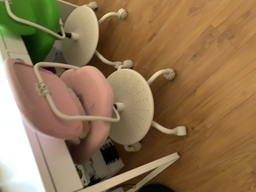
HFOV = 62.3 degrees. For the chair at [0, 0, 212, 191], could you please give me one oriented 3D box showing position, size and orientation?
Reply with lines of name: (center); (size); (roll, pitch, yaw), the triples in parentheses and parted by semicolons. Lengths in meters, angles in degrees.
chair: (-0.180, 0.090, 1.040); (0.650, 0.820, 0.580); (-49, 60, 31)
